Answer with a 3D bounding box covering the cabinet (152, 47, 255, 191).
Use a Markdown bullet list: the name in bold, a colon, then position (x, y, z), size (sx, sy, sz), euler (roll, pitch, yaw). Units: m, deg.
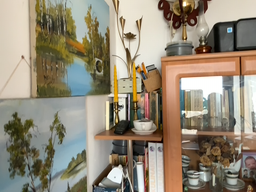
- **cabinet**: position (0.520, 0.730, 1.100), size (0.720, 1.880, 0.370), euler (-1, 1, 14)
